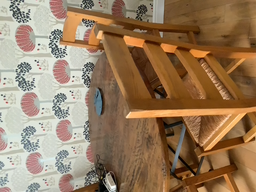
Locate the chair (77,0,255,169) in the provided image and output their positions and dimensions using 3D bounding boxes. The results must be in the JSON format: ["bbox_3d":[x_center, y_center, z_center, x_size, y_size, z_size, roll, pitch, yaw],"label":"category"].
[{"bbox_3d":[0.330,-0.070,1.070,0.540,1.010,0.480,-62,41,49],"label":"chair"}]

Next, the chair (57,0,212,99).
[{"bbox_3d":[0.030,-0.350,1.640,0.430,1.010,0.540,-49,52,56],"label":"chair"}]
